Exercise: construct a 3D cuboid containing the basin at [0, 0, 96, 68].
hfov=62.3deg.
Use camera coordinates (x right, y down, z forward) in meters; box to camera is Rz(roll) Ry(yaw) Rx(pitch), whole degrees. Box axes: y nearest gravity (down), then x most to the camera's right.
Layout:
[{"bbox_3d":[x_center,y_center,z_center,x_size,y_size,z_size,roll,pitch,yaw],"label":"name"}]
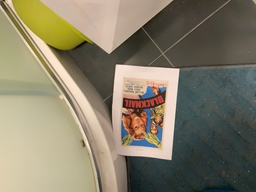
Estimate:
[{"bbox_3d":[-0.250,-0.230,0.620,0.110,0.300,0.240,-37,85,6],"label":"basin"}]
